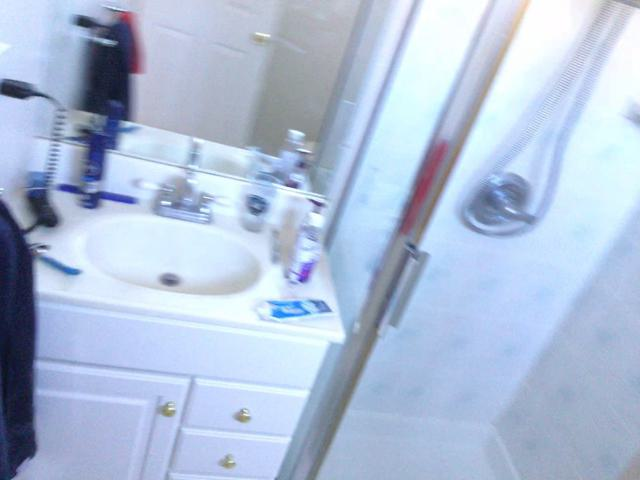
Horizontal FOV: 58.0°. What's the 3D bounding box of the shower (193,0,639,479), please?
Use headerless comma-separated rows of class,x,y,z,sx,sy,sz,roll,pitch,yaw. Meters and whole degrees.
shower,0.530,0.130,1.370,0.990,2.010,0.900,37,32,31
